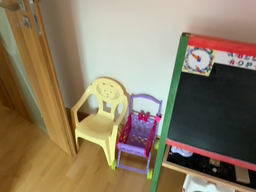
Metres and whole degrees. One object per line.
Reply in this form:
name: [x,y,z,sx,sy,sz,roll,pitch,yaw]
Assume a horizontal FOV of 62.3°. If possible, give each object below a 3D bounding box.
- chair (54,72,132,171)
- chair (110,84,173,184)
chair: [-0.220,0.190,1.570,0.380,0.560,0.350,15,43,16]
chair: [0.090,0.270,1.480,0.290,0.560,0.350,15,43,16]
